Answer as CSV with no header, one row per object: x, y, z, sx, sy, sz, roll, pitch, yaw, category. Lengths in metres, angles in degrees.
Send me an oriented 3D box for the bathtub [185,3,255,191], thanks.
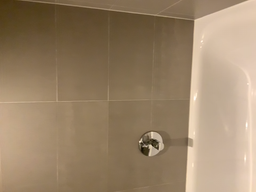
0.800,0.360,1.290,0.690,0.530,1.650,-159,70,-70,bathtub
